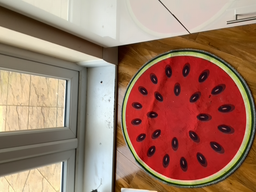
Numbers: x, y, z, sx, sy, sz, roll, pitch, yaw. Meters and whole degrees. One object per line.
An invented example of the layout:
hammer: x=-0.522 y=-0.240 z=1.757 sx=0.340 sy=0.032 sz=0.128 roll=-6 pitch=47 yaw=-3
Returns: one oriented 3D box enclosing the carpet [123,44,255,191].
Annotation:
carpet: x=0.300 y=0.120 z=1.210 sx=0.760 sy=0.040 sz=0.710 roll=-3 pitch=85 yaw=31
